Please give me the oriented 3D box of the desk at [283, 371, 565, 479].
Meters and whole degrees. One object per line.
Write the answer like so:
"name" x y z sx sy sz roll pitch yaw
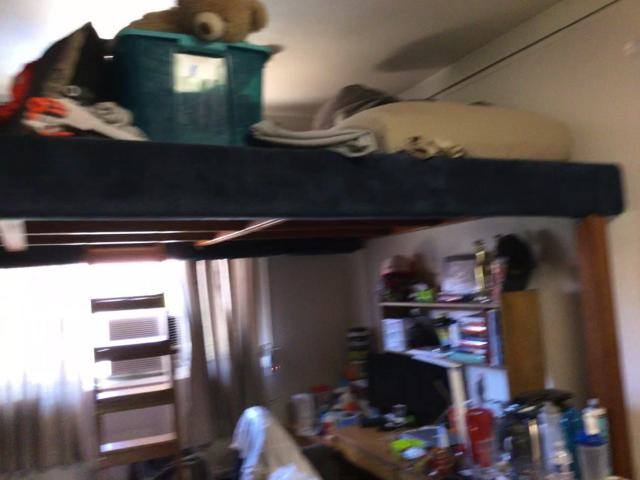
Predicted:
"desk" 0.410 1.300 3.050 0.600 0.970 1.710 -1 -6 -25

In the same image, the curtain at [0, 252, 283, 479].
"curtain" -1.280 0.730 3.340 2.120 1.260 0.230 -1 -6 -25
